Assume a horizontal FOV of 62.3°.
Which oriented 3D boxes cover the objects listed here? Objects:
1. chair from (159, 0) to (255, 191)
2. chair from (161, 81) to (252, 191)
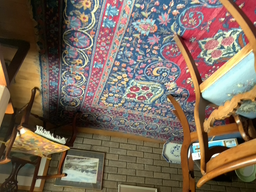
[{"bbox_3d":[0.560,-0.010,1.070,0.530,0.910,0.550,18,142,-22],"label":"chair"},{"bbox_3d":[0.580,0.410,1.710,0.480,0.910,0.440,-10,144,16],"label":"chair"}]
